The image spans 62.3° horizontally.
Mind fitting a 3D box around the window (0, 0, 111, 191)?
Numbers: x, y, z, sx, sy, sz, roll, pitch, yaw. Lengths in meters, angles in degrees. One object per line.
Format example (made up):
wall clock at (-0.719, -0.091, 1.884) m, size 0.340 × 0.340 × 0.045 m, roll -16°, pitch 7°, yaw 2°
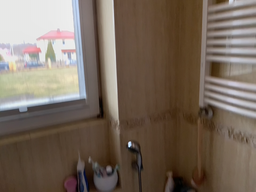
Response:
window at (-0.570, -0.190, 1.010) m, size 0.860 × 1.420 × 0.300 m, roll -9°, pitch 15°, yaw -27°
